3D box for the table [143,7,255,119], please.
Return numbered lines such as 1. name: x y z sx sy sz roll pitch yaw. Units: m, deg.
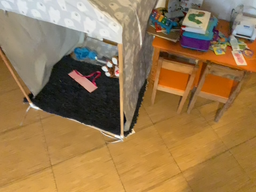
1. table: 0.560 -0.260 1.690 0.720 0.540 0.460 18 55 11
